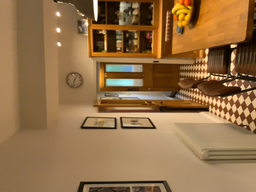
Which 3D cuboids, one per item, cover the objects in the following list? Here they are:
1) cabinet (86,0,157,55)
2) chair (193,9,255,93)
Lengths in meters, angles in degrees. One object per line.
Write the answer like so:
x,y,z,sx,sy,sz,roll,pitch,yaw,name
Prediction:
-0.130,-1.360,4.050,0.310,1.290,1.100,-119,29,-79,cabinet
1.090,-0.330,1.700,0.470,0.950,0.550,-116,27,-80,chair
